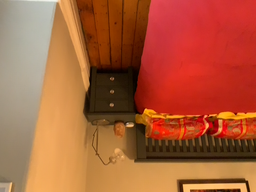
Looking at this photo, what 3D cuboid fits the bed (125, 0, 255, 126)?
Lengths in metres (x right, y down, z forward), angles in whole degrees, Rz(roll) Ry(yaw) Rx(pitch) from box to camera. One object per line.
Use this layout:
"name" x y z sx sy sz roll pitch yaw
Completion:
"bed" 0.940 -0.340 1.770 1.800 0.620 2.250 1 158 -4

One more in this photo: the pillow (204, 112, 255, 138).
"pillow" 1.220 0.330 2.340 0.580 0.180 0.400 1 158 -4

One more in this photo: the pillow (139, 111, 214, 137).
"pillow" 0.490 0.310 2.260 0.690 0.190 0.360 1 158 -4
